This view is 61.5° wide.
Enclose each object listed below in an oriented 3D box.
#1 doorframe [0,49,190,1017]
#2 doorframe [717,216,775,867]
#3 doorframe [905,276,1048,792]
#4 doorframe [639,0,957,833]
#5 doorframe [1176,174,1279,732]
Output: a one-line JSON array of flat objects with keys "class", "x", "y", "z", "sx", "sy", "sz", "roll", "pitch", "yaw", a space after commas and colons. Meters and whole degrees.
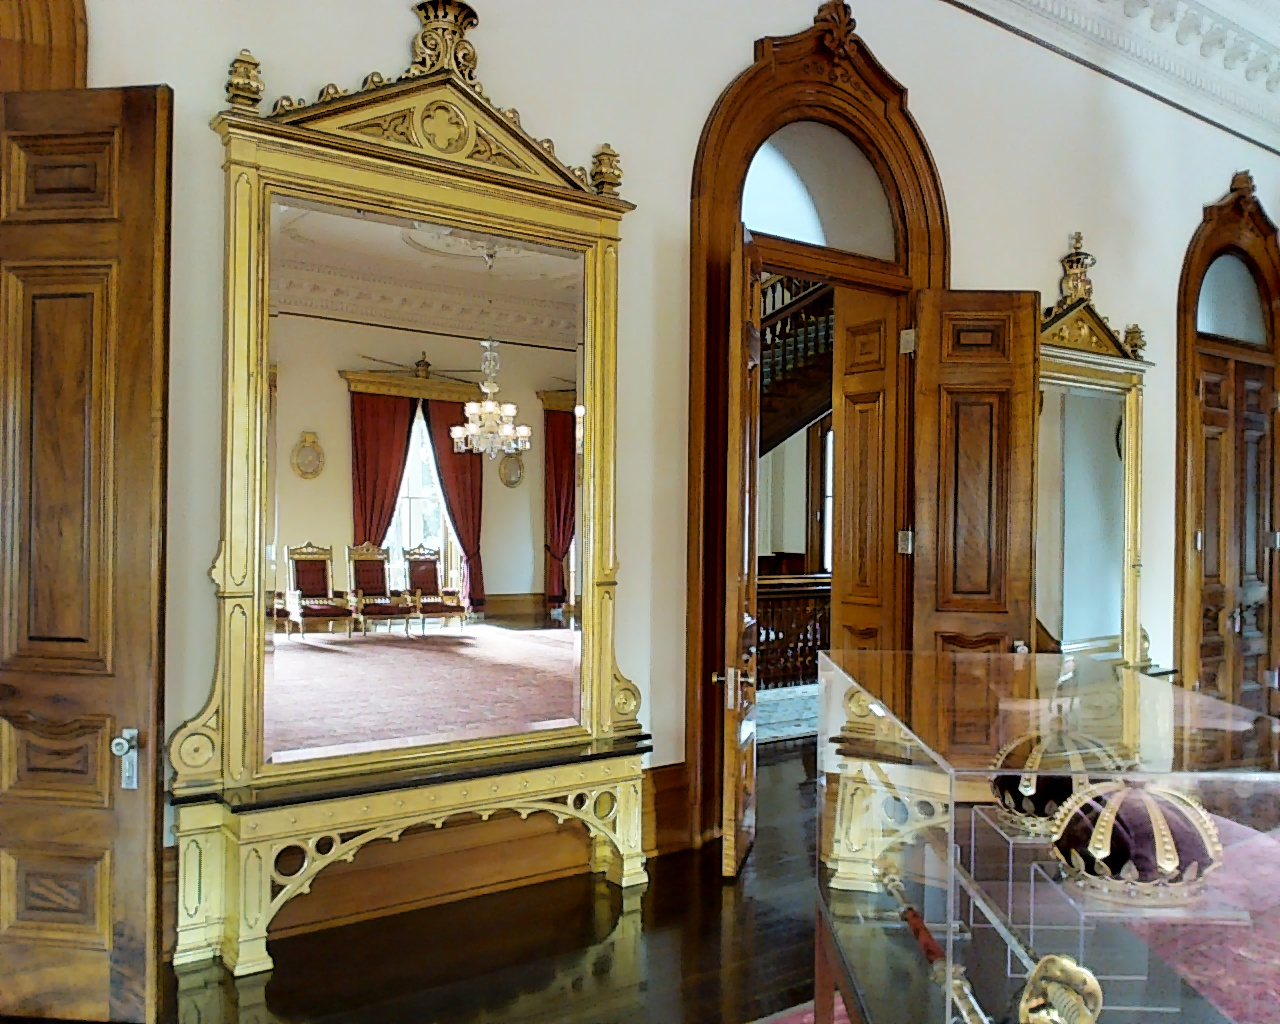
[{"class": "doorframe", "x": -1.780, "y": 0.060, "z": 3.340, "sx": 0.740, "sy": 2.920, "sz": 0.080, "roll": 1, "pitch": 0, "yaw": 9}, {"class": "doorframe", "x": 0.510, "y": 0.130, "z": 5.060, "sx": 0.140, "sy": 2.840, "sz": 0.730, "roll": 1, "pitch": 0, "yaw": 14}, {"class": "doorframe", "x": 1.900, "y": 0.120, "z": 6.080, "sx": 0.740, "sy": 2.880, "sz": 0.110, "roll": 1, "pitch": 0, "yaw": 1}, {"class": "doorframe", "x": 0.920, "y": -0.550, "z": 5.880, "sx": 1.910, "sy": 4.181, "sz": 0.450, "roll": 1, "pitch": 0, "yaw": -36}, {"class": "doorframe", "x": 4.879, "y": -0.430, "z": 8.580, "sx": 1.790, "sy": 4.131, "sz": 0.240, "roll": 1, "pitch": 0, "yaw": -36}]
